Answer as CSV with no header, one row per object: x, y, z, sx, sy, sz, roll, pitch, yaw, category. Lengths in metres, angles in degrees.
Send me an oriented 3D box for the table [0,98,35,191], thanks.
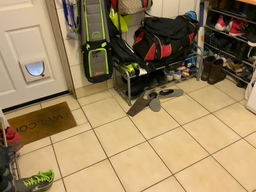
-0.850,0.440,1.320,0.350,0.360,0.870,-21,41,-23,table

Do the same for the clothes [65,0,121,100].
-0.280,-0.520,1.770,0.330,1.150,0.190,-20,41,-22,clothes
